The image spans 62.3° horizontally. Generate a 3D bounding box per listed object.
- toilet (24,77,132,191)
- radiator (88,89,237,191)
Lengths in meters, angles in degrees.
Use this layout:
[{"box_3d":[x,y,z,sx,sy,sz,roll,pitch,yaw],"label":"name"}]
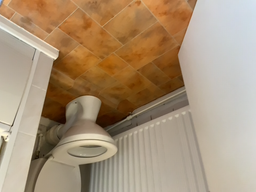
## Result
[{"box_3d":[-0.350,0.430,1.530,0.630,0.870,0.390,-28,138,31],"label":"toilet"},{"box_3d":[0.130,0.450,1.500,1.020,0.680,0.120,-25,140,28],"label":"radiator"}]
